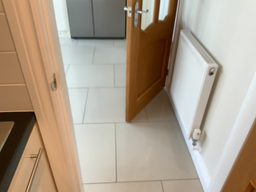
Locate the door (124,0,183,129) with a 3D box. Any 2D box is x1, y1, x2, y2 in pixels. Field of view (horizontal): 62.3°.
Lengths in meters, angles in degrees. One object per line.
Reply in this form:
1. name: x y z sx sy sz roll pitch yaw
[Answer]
1. door: 0.250 -0.730 1.700 0.100 2.070 0.780 22 40 25
